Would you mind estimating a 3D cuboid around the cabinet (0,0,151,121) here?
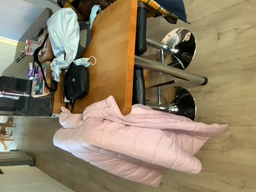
[{"bbox_3d":[-0.840,-0.180,2.540,2.230,0.840,0.870,-6,78,50],"label":"cabinet"}]
